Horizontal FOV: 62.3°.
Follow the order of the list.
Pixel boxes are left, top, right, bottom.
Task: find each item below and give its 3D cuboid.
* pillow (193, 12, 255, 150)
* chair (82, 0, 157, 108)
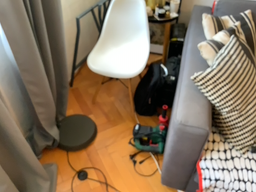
[{"bbox_3d":[0.640,-0.070,1.270,0.220,0.630,0.500,19,2,9],"label":"pillow"},{"bbox_3d":[-0.050,-0.380,1.870,0.450,0.780,0.500,11,44,10],"label":"chair"}]
